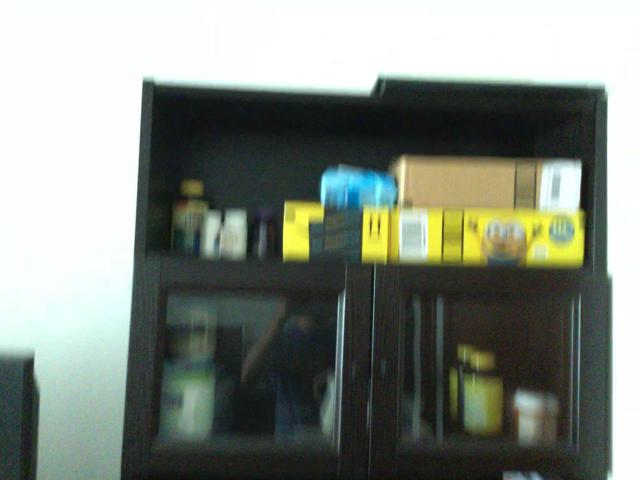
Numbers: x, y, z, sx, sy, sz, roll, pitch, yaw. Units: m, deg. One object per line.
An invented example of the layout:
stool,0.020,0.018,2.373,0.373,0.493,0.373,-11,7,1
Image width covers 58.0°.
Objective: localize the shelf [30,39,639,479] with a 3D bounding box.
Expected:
shelf,0.050,0.720,1.010,0.950,1.970,0.440,2,-6,-6
